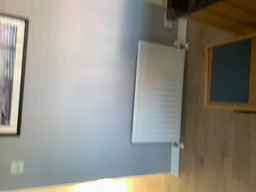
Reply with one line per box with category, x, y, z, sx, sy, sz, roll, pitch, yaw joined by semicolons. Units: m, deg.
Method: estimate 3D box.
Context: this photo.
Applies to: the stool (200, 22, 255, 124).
stool;0.760;-0.080;1.000;0.560;0.540;0.420;1;88;63
